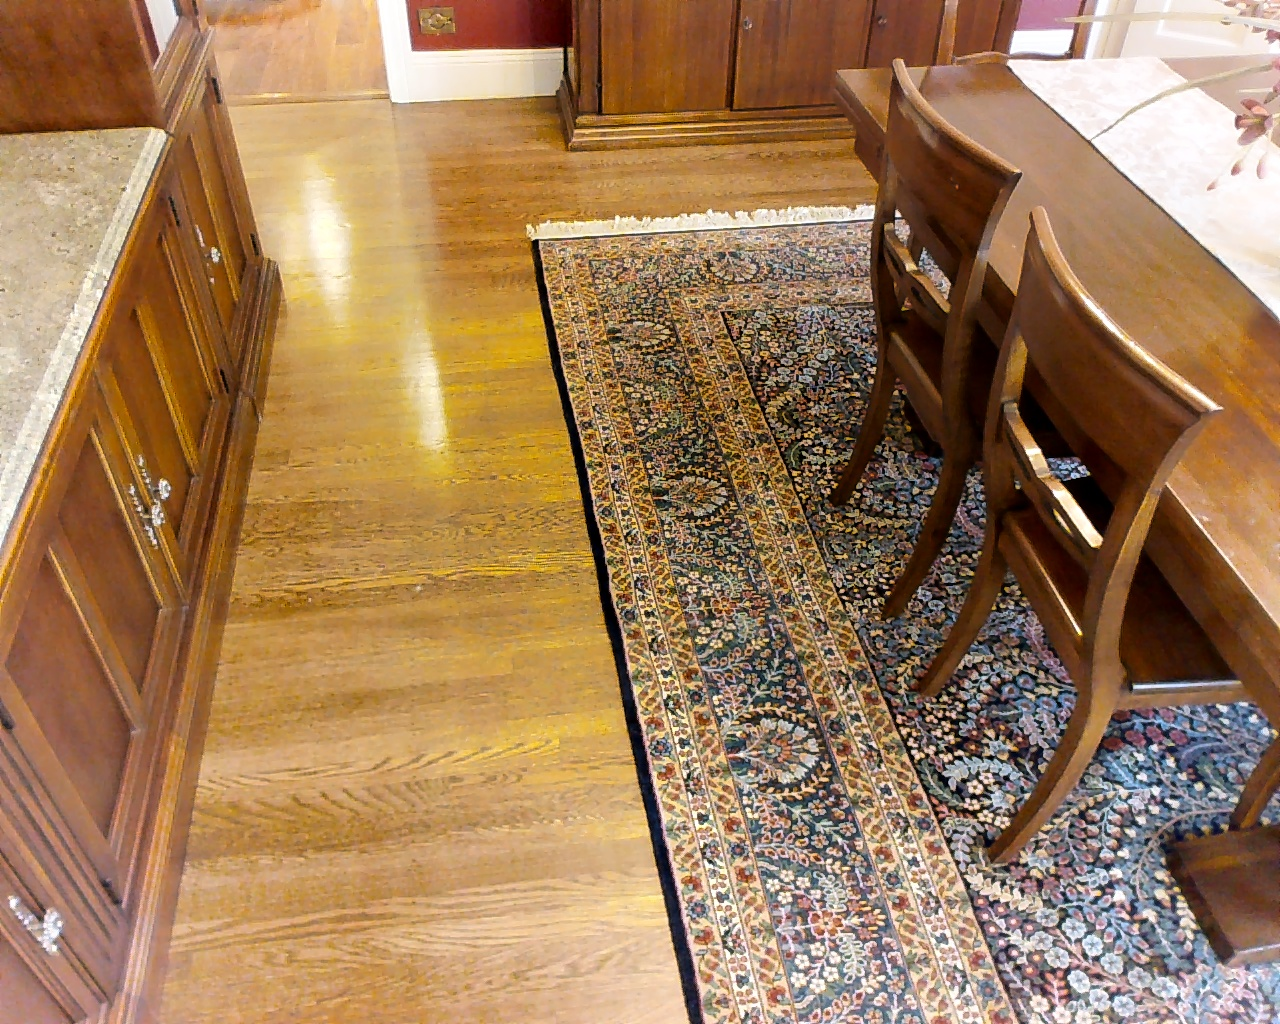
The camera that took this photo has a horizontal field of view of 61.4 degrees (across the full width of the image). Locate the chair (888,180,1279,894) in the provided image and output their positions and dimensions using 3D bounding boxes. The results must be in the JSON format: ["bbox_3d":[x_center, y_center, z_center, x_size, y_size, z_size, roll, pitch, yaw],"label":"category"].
[{"bbox_3d":[0.740,0.080,1.560,0.480,0.970,0.430,-5,43,-7],"label":"chair"}]

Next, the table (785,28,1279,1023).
[{"bbox_3d":[1.070,-0.110,1.860,1.140,0.760,1.840,-5,43,-7],"label":"table"}]
